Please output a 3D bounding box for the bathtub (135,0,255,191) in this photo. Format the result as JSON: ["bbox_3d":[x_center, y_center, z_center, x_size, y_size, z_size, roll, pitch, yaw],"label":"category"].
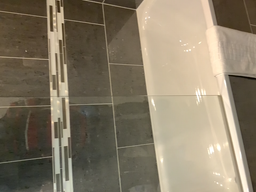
[{"bbox_3d":[0.540,0.020,1.400,0.690,0.530,1.660,-28,66,60],"label":"bathtub"}]
